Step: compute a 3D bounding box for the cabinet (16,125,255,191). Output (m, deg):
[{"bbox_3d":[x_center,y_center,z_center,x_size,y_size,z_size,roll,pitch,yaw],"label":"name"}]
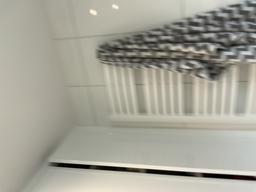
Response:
[{"bbox_3d":[0.200,0.410,1.030,0.760,1.360,0.150,-63,-31,-64],"label":"cabinet"}]
